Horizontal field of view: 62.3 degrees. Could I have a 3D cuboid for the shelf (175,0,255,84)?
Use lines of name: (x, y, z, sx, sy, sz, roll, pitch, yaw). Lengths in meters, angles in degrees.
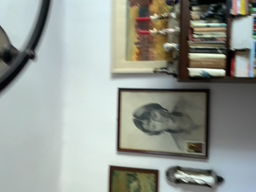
shelf: (0.870, -0.500, 1.410, 0.340, 1.050, 0.810, 3, -91, -78)
